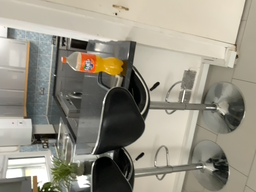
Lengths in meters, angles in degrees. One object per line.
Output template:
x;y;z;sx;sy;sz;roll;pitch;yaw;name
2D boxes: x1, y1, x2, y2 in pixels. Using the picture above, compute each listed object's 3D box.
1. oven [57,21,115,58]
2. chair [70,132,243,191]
-0.850;-1.110;4.210;0.580;0.970;0.510;31;115;60;oven
0.210;0.550;1.500;0.430;1.110;0.420;28;112;61;chair
